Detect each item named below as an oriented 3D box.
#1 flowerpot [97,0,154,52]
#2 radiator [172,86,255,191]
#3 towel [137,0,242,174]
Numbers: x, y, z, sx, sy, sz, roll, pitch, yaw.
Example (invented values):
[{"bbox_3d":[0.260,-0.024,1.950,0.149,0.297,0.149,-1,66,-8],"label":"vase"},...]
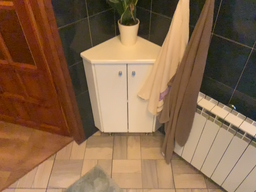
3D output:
[{"bbox_3d":[-0.020,-0.490,1.280,0.290,0.370,0.170,-12,45,-11],"label":"flowerpot"},{"bbox_3d":[0.650,0.400,1.240,0.130,0.660,0.770,-34,53,-30],"label":"radiator"},{"bbox_3d":[0.270,-0.010,1.310,0.210,1.270,0.360,-35,53,-30],"label":"towel"}]
